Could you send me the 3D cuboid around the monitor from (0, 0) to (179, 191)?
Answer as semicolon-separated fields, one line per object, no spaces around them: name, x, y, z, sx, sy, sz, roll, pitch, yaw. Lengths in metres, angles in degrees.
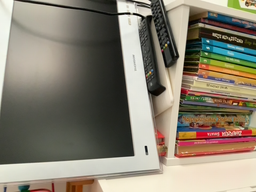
monitor;-0.110;-0.090;0.520;0.040;0.400;0.590;133;135;-58
